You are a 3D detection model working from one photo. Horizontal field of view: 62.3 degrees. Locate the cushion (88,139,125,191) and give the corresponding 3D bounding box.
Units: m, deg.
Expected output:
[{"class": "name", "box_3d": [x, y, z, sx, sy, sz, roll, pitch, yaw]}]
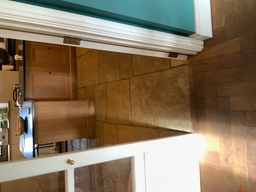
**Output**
[{"class": "cushion", "box_3d": [-0.330, 1.150, 2.980, 0.920, 0.070, 0.960, -2, 89, 56]}]
